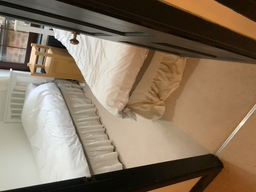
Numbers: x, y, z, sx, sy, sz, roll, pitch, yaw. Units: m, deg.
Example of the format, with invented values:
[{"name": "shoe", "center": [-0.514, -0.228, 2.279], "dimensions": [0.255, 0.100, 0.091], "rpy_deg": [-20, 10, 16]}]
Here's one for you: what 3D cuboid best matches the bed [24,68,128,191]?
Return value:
[{"name": "bed", "center": [-0.930, 0.590, 3.090], "dimensions": [2.020, 0.690, 1.020], "rpy_deg": [53, 128, 42]}]
